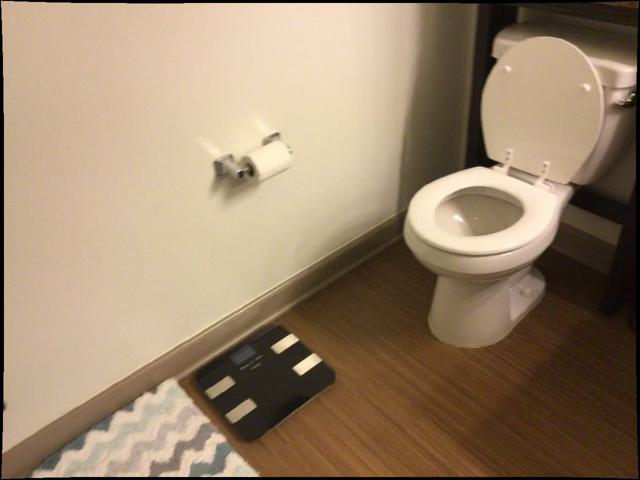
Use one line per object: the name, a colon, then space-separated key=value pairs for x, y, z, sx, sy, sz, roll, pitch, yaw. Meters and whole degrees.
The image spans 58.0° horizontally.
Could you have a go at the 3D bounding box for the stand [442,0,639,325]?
stand: x=0.718 y=-0.311 z=1.690 sx=0.280 sy=0.911 sz=0.660 roll=-30 pitch=45 yaw=-25
